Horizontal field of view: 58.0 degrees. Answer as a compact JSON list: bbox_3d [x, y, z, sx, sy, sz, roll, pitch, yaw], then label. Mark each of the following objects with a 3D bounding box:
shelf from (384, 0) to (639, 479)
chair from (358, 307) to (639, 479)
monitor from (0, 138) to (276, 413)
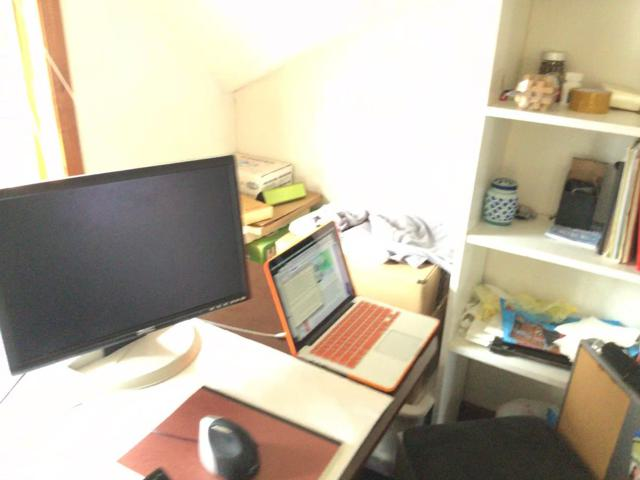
[{"bbox_3d":[0.670,0.080,1.580,0.690,1.500,0.420,16,27,22],"label":"shelf"},{"bbox_3d":[0.400,0.610,1.250,0.510,0.760,0.530,1,26,-9],"label":"chair"},{"bbox_3d":[-0.360,0.030,1.090,0.480,0.340,0.250,-15,32,-36],"label":"monitor"}]
